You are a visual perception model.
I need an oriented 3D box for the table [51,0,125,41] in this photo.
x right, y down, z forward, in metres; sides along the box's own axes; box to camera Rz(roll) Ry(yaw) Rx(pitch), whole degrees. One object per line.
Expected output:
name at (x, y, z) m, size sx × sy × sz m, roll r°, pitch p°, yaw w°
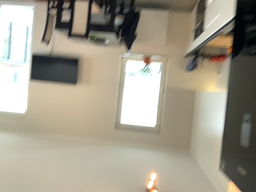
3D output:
table at (-0.580, -1.430, 3.480) m, size 0.940 × 0.760 × 0.930 m, roll 6°, pitch -177°, yaw 3°

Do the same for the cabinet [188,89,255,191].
cabinet at (1.260, 0.540, 2.580) m, size 0.400 × 1.190 × 2.670 m, roll 6°, pitch -177°, yaw 5°

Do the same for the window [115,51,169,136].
window at (0.270, -0.050, 4.210) m, size 0.900 × 1.580 × 0.120 m, roll 6°, pitch -177°, yaw 6°
